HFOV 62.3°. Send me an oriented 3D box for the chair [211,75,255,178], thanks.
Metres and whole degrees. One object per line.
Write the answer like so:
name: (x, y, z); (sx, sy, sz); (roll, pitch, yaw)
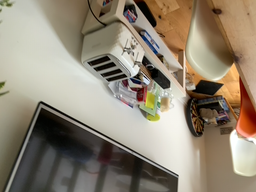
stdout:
chair: (1.240, 0.330, 2.150); (0.470, 0.810, 0.560); (14, 150, -9)
